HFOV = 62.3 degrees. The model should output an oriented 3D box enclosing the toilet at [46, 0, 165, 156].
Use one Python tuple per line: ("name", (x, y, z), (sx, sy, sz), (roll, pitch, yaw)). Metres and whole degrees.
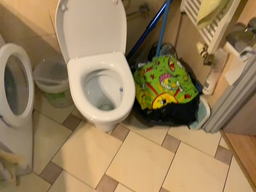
("toilet", (-0.160, -0.150, 1.220), (0.370, 0.820, 0.650), (-13, 57, -12))
